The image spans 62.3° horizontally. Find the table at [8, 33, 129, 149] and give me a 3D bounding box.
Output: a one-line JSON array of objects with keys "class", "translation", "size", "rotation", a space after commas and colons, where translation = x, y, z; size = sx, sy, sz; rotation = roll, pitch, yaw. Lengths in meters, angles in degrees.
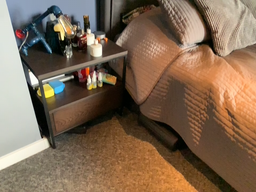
[{"class": "table", "translation": [-0.380, -0.070, 1.470], "size": [0.600, 0.510, 0.420], "rotation": [-23, 46, -32]}]
